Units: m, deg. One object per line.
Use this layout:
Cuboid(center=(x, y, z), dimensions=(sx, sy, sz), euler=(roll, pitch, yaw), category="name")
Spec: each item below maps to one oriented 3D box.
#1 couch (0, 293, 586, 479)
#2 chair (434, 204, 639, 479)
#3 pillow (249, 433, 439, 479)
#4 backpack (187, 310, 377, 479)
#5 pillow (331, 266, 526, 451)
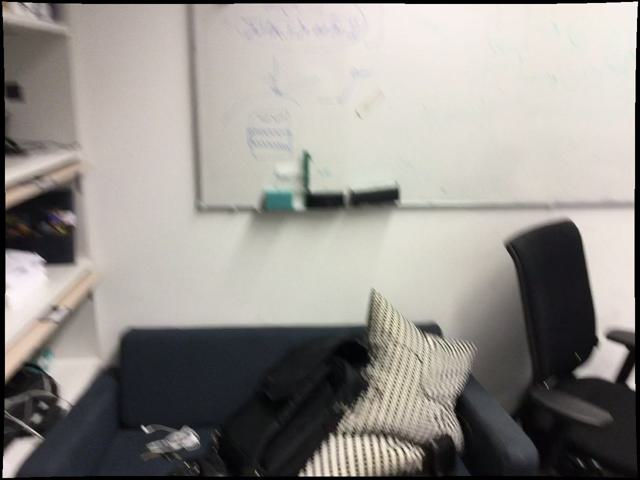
Cuboid(center=(-0.170, 0.681, 1.870), dimensions=(1.588, 0.751, 0.820), euler=(0, 17, -2), category="couch")
Cuboid(center=(0.899, 0.470, 1.850), dimensions=(0.730, 0.951, 0.730), euler=(16, 23, 40), category="chair")
Cuboid(center=(0.060, 0.661, 1.630), dimensions=(0.499, 0.120, 0.200), euler=(0, 17, -2), category="pillow")
Cuboid(center=(-0.110, 0.511, 1.820), dimensions=(0.499, 0.400, 0.510), euler=(0, 17, -2), category="backpack")
Cuboid(center=(0.310, 0.360, 1.930), dimensions=(0.509, 0.380, 0.550), euler=(0, 17, -2), category="pillow")
